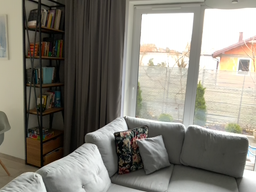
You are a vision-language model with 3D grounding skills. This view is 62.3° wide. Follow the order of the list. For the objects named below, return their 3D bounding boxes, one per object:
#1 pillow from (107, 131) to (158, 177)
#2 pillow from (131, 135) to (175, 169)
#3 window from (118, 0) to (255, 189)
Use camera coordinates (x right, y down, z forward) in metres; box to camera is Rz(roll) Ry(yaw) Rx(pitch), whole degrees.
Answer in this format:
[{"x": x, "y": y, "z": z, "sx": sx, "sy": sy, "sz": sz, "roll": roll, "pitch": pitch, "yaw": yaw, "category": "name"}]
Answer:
[{"x": 0.050, "y": 0.600, "z": 2.250, "sx": 0.440, "sy": 0.370, "sz": 0.170, "roll": -4, "pitch": 35, "yaw": -46, "category": "pillow"}, {"x": 0.270, "y": 0.600, "z": 2.300, "sx": 0.360, "sy": 0.320, "sz": 0.140, "roll": 5, "pitch": 28, "yaw": -35, "category": "pillow"}, {"x": 0.900, "y": -0.070, "z": 3.010, "sx": 1.970, "sy": 2.280, "sz": 0.440, "roll": 6, "pitch": 10, "yaw": 19, "category": "window"}]
